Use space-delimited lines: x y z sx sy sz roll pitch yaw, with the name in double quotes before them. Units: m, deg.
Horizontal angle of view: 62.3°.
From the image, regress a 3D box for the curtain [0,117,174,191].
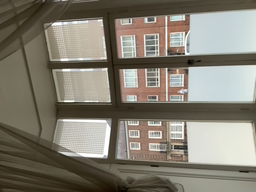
"curtain" -0.420 0.550 1.440 0.260 1.430 0.770 -63 -29 -67
